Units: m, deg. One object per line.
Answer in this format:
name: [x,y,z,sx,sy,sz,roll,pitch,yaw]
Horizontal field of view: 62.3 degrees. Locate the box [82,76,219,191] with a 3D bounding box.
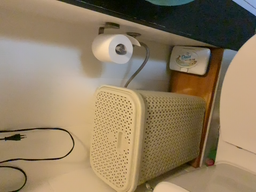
box: [0.120,0.150,0.990,0.280,0.560,0.430,17,104,47]

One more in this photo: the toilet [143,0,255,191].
toilet: [0.510,0.100,0.790,0.360,0.830,0.670,19,105,47]
